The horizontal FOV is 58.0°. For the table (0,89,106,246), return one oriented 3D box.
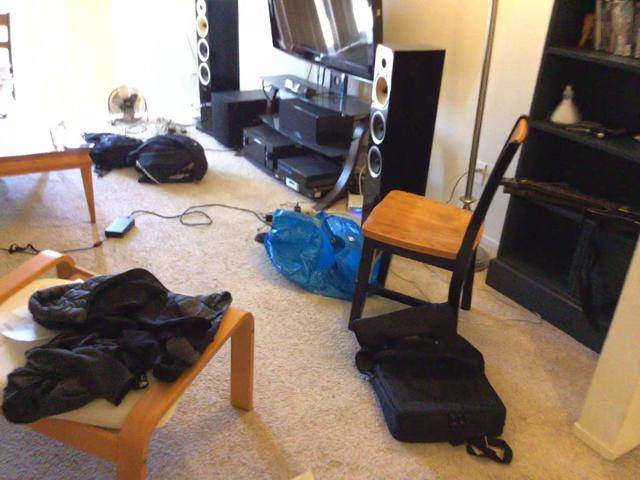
[{"bbox_3d":[-1.580,-0.440,3.070,0.560,0.510,1.130,-6,26,-34],"label":"table"}]

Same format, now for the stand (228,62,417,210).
[{"bbox_3d":[-0.050,-0.710,3.710,0.560,0.620,1.210,-6,26,-34],"label":"stand"}]

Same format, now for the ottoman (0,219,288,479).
[{"bbox_3d":[-0.640,0.350,1.660,0.850,0.480,0.620,17,23,20],"label":"ottoman"}]
